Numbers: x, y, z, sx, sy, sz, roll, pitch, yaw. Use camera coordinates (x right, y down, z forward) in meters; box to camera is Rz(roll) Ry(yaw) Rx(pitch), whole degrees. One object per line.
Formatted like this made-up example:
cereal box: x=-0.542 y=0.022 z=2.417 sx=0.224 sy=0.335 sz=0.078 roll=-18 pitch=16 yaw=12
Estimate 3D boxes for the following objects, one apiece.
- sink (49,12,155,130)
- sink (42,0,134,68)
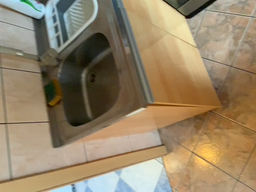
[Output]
sink: x=-0.140 y=-0.080 z=0.940 sx=0.410 sy=0.170 sz=0.340 roll=-28 pitch=70 yaw=36
sink: x=-0.220 y=-0.390 z=1.040 sx=0.410 sy=0.170 sz=0.330 roll=-28 pitch=70 yaw=36
